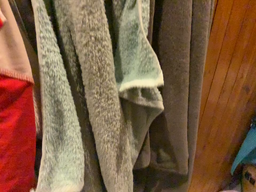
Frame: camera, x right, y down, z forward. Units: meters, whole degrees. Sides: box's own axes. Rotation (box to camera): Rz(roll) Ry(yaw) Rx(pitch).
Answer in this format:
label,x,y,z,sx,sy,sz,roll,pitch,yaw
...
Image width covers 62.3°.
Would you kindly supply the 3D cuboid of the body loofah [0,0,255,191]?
label,x,y,z,sx,sy,sz,roll,pitch,yaw
body loofah,0.060,0.080,0.520,0.520,1.120,0.130,-16,37,-26
